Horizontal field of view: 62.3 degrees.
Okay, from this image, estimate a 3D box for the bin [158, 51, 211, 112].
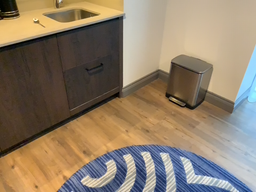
[{"bbox_3d":[0.570,-0.160,2.200,0.350,0.470,0.280,31,43,34],"label":"bin"}]
